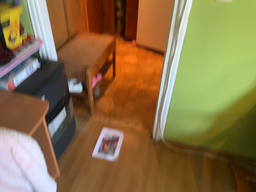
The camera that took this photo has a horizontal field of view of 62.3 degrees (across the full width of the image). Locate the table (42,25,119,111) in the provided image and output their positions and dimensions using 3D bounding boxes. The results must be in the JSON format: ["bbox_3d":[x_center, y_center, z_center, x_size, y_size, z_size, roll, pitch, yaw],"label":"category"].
[{"bbox_3d":[-0.440,-0.340,2.290,0.440,0.520,0.800,13,41,12],"label":"table"}]
